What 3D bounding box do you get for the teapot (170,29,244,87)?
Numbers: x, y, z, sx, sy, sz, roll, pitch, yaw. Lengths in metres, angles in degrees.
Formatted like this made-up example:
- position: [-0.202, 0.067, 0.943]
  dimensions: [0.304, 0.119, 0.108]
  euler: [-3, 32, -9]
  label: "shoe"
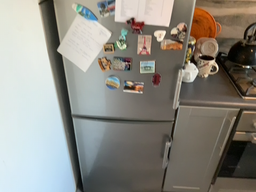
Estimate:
- position: [0.430, -0.240, 1.260]
  dimensions: [0.280, 0.180, 0.410]
  euler: [2, 34, 0]
  label: "teapot"
